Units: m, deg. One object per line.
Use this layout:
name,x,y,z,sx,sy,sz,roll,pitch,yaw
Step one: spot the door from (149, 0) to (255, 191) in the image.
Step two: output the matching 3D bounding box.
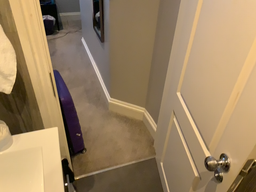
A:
door,0.330,-0.040,0.940,0.090,2.080,0.840,-1,39,-6
